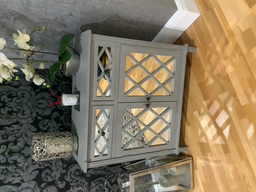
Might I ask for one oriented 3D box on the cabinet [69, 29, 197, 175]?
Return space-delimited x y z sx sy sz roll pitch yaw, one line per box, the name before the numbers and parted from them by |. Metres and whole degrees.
cabinet | 0.030 0.020 1.540 0.390 0.800 0.820 14 103 61
